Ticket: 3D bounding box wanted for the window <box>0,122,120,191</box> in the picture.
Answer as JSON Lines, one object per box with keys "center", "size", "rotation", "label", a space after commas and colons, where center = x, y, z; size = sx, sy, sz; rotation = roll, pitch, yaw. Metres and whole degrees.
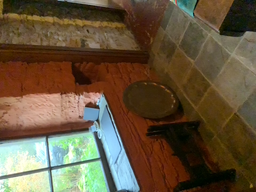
{"center": [-0.690, 0.710, 1.960], "size": [1.020, 1.080, 0.120], "rotation": [-117, 34, -41], "label": "window"}
